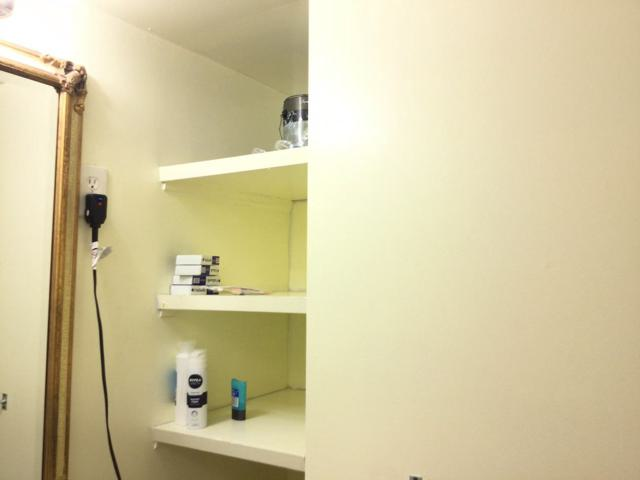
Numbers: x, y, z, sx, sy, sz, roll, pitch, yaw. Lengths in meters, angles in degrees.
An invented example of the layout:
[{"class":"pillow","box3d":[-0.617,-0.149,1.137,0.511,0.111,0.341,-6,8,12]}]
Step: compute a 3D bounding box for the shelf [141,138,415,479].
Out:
[{"class":"shelf","box3d":[-0.080,0.370,1.640,0.480,1.130,0.630,-2,-7,31]}]
